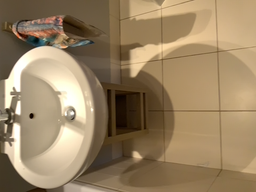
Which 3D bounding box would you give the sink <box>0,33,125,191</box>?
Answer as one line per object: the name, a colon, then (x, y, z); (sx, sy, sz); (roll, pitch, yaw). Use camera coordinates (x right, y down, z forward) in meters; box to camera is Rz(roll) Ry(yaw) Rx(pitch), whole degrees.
sink: (-0.250, 0.070, 0.750); (0.440, 0.180, 0.470); (0, 88, 32)
